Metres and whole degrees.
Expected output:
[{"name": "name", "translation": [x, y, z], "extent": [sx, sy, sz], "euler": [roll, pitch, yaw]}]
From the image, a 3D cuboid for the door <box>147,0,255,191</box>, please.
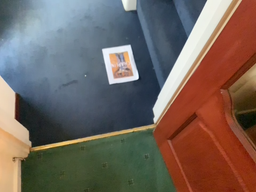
[{"name": "door", "translation": [0.360, 0.160, 0.340], "extent": [0.030, 1.990, 0.790], "euler": [-16, 68, -13]}]
